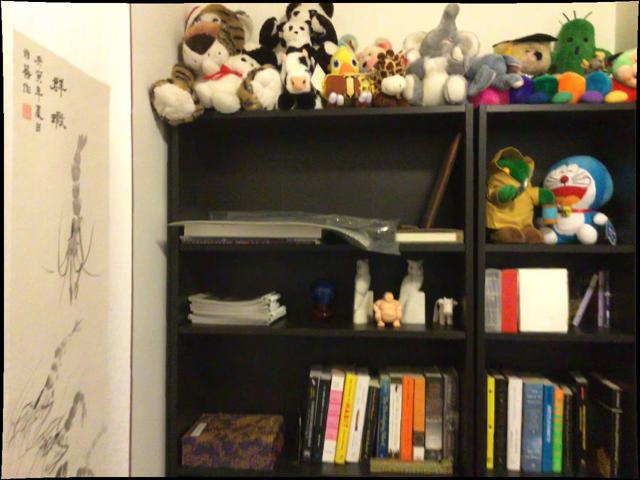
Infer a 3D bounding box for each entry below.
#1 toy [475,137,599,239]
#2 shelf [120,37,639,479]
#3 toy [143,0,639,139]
[{"bbox_3d":[0.559,-0.130,1.510,0.269,0.251,0.160,0,0,6],"label":"toy"},{"bbox_3d":[0.200,0.581,1.490,1.267,2.015,0.480,0,0,6],"label":"shelf"},{"bbox_3d":[0.209,-0.501,1.540,1.267,0.391,0.350,0,0,6],"label":"toy"}]
